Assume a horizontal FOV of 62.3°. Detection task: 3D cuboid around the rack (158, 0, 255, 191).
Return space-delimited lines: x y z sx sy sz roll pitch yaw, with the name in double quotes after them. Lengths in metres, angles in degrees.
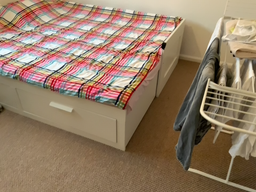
0.730 0.000 1.350 0.680 0.920 1.300 15 38 17 "rack"
